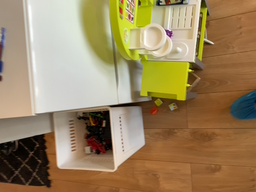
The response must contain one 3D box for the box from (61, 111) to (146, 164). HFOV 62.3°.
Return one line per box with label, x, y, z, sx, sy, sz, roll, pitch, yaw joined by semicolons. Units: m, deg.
box;-0.130;0.220;1.270;0.370;0.350;0.230;-2;90;25
